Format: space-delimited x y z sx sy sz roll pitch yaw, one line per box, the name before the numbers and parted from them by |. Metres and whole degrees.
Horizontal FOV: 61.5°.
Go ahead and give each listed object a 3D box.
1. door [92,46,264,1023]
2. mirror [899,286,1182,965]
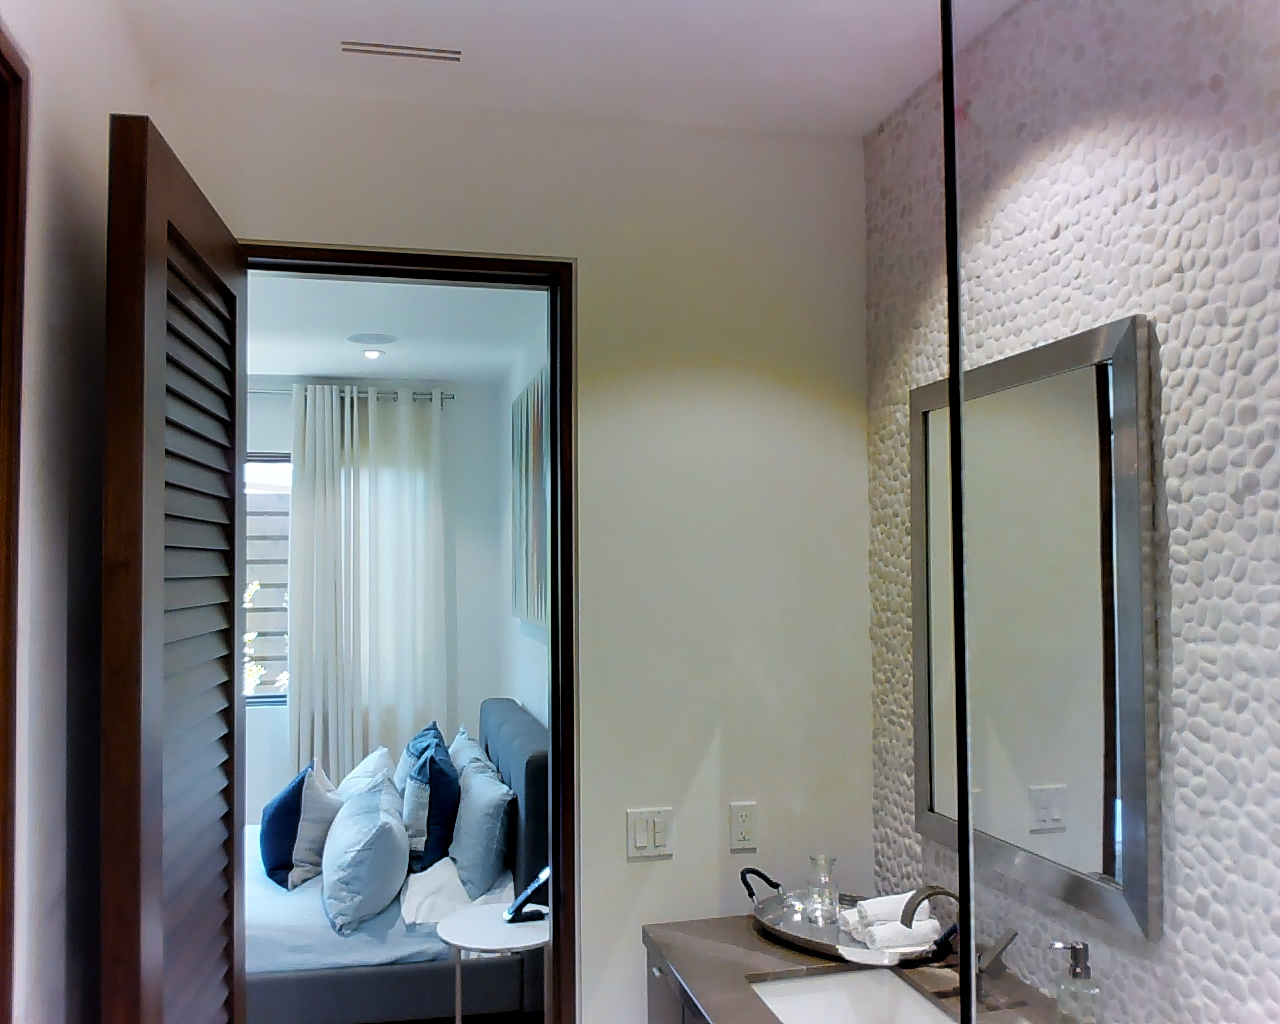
door | -0.820 0.570 1.990 0.050 2.480 0.910 0 -2 -8
mirror | 0.730 0.190 2.100 0.060 1.080 0.780 0 -2 -14
